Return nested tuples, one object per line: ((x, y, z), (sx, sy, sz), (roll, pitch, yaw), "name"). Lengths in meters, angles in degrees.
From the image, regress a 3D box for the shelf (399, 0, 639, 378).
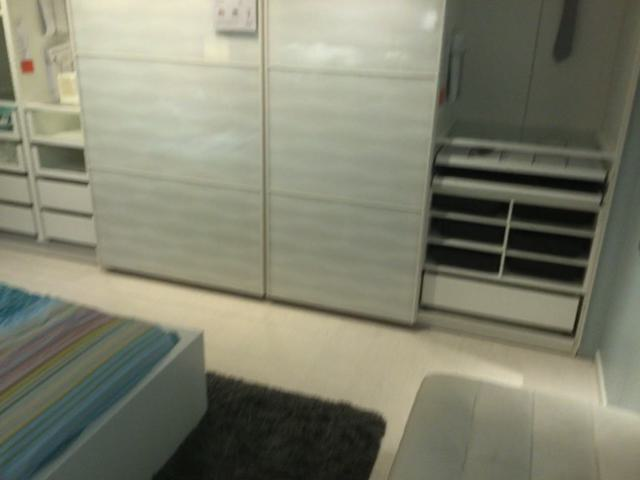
((0.900, -0.680, 2.370), (0.830, 2.270, 0.700), (9, 22, 18), "shelf")
